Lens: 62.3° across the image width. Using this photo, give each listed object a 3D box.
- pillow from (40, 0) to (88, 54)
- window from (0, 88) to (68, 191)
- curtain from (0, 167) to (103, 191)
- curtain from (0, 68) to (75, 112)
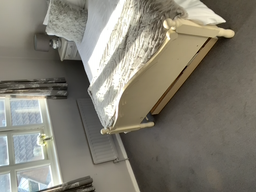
[{"bbox_3d":[-0.890,-1.110,2.830,0.730,0.350,0.750,-56,47,44],"label":"pillow"},{"bbox_3d":[-1.630,0.630,2.900,0.290,1.230,1.640,-57,46,43],"label":"window"},{"bbox_3d":[-1.070,1.160,2.360,0.210,1.550,0.340,-60,45,41],"label":"curtain"},{"bbox_3d":[-1.640,-0.110,3.180,0.670,1.510,0.220,63,140,34],"label":"curtain"}]
